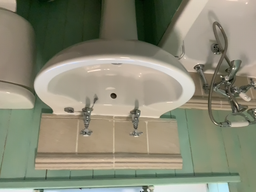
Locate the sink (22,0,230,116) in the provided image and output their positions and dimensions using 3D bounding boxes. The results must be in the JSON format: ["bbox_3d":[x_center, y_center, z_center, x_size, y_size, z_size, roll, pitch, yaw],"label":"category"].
[{"bbox_3d":[-0.030,-0.090,0.780,0.540,0.180,0.460,3,158,-13],"label":"sink"}]
